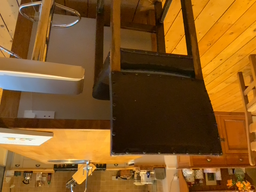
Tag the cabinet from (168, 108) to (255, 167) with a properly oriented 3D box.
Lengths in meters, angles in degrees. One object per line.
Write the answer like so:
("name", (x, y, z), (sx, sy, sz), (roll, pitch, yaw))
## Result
("cabinet", (1.550, 0.800, 3.980), (1.350, 0.960, 0.610), (3, 160, -11))
